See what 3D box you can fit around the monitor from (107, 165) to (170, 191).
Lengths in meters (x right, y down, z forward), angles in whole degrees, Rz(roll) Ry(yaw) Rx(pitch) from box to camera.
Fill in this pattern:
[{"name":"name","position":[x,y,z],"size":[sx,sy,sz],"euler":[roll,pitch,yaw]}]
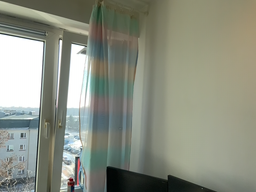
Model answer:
[{"name":"monitor","position":[0.050,0.700,1.470],"size":[0.480,0.310,0.040],"euler":[4,2,36]}]
